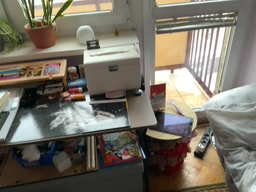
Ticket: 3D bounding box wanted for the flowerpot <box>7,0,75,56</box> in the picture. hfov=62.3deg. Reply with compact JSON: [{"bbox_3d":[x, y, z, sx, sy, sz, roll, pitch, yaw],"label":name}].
[{"bbox_3d":[-0.470,-0.500,1.130,0.260,0.510,0.170,-8,35,-5],"label":"flowerpot"}]
